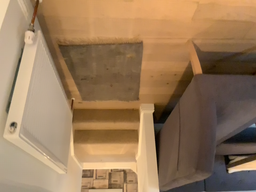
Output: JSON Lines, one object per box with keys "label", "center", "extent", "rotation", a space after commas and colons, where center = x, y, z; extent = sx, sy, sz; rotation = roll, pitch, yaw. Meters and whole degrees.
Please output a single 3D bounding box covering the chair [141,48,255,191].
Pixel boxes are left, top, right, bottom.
{"label": "chair", "center": [0.640, 0.460, 2.250], "extent": [0.740, 0.950, 1.790], "rotation": [1, 154, -4]}
